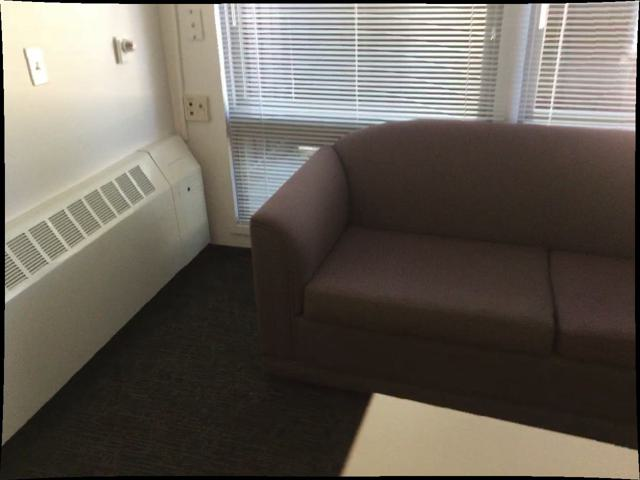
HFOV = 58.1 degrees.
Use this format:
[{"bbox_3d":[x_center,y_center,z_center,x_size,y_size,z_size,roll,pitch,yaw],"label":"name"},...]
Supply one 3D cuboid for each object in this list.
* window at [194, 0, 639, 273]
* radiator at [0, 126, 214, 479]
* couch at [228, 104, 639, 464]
[{"bbox_3d":[0.719,-0.922,2.120,2.376,1.993,0.470,6,28,15],"label":"window"},{"bbox_3d":[-0.899,0.260,1.840,0.150,0.651,2.120,6,29,15],"label":"radiator"},{"bbox_3d":[0.739,0.070,1.990,1.797,0.771,0.930,6,29,15],"label":"couch"}]
